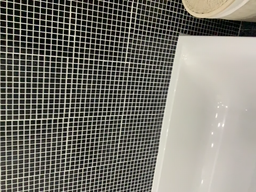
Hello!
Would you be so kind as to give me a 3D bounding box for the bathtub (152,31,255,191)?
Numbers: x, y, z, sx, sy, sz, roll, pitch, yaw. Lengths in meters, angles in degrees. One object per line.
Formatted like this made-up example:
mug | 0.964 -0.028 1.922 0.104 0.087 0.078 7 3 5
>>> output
bathtub | 0.590 0.550 1.220 0.750 0.520 1.710 31 119 59
